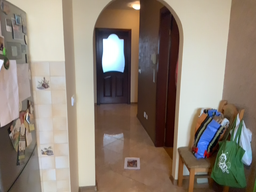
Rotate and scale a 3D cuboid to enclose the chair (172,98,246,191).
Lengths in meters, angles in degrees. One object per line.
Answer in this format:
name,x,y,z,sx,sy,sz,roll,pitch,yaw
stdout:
chair,0.800,0.550,2.220,0.490,0.980,0.430,-1,12,-7
